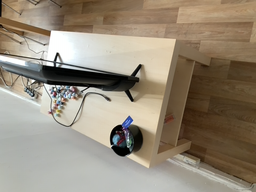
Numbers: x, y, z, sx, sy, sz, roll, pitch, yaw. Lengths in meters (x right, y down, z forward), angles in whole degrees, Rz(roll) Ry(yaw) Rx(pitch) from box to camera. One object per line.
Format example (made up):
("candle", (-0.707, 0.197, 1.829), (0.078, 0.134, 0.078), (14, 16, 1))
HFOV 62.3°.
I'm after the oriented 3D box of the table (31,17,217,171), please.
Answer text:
("table", (-0.100, -0.100, 1.350), (1.040, 0.440, 0.610), (18, 100, 35))
